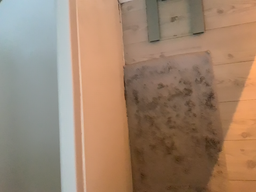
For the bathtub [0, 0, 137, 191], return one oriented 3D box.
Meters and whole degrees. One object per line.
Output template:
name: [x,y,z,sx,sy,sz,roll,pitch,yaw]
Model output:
bathtub: [-0.410,0.220,1.090,0.730,0.600,1.660,-6,85,18]
